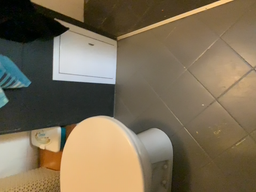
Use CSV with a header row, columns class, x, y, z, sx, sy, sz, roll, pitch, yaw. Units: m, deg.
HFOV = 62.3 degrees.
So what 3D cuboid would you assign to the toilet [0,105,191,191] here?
class,x,y,z,sx,sy,sz,roll,pitch,yaw
toilet,-0.080,0.410,0.820,0.380,0.820,0.680,4,93,32
